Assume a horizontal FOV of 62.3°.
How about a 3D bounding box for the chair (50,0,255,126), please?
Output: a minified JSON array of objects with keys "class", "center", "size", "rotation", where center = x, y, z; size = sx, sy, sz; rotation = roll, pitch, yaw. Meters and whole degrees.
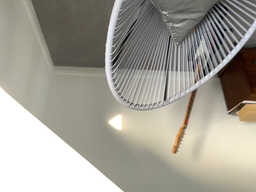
[{"class":"chair","center":[0.250,-0.440,0.980],"size":[0.800,0.810,0.730],"rotation":[-24,143,35]}]
